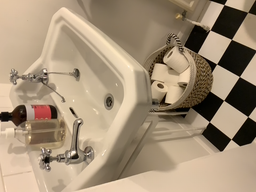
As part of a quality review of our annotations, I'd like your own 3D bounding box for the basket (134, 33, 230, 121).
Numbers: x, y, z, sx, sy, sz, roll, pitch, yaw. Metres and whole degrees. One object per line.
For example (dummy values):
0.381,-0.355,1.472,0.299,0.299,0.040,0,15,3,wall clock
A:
0.300,-0.110,1.260,0.340,0.270,0.370,43,119,41,basket
